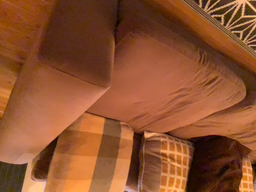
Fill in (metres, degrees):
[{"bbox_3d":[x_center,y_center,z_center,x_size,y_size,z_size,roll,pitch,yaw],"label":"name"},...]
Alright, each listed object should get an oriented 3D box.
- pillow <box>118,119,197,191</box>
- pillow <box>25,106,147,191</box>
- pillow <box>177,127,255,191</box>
[{"bbox_3d":[0.220,0.440,1.480,0.460,0.410,0.160,23,159,-21],"label":"pillow"},{"bbox_3d":[-0.210,0.380,1.210,0.500,0.490,0.180,29,163,-28],"label":"pillow"},{"bbox_3d":[0.690,0.550,1.630,0.480,0.430,0.160,34,176,-27],"label":"pillow"}]
